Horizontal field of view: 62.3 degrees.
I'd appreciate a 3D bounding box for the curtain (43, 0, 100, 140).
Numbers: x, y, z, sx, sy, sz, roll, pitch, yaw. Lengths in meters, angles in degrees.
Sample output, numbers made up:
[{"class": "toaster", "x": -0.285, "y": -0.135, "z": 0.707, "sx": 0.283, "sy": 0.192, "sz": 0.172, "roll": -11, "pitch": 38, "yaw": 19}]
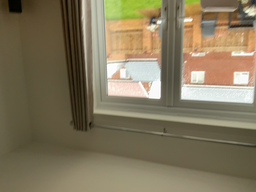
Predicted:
[{"class": "curtain", "x": -0.560, "y": -0.590, "z": 2.110, "sx": 0.410, "sy": 2.030, "sz": 0.250, "roll": 4, "pitch": -168, "yaw": 21}]
